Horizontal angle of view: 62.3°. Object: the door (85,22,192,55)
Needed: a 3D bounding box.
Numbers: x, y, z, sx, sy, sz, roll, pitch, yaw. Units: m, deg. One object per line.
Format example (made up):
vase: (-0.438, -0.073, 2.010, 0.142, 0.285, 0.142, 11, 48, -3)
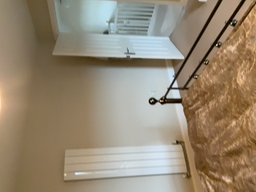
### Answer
door: (0.110, -1.010, 3.640, 1.050, 1.660, 0.110, -104, 17, -52)
